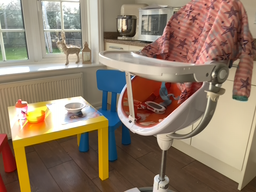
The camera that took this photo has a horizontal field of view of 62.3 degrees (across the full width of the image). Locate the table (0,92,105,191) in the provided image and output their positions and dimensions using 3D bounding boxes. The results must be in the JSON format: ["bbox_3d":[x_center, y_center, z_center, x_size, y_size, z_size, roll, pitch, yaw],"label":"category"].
[{"bbox_3d":[-0.590,0.320,1.500,0.660,0.470,0.580,-10,21,-31],"label":"table"}]

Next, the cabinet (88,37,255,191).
[{"bbox_3d":[0.280,-0.030,1.930,0.460,0.880,1.680,-14,23,-37],"label":"cabinet"}]
